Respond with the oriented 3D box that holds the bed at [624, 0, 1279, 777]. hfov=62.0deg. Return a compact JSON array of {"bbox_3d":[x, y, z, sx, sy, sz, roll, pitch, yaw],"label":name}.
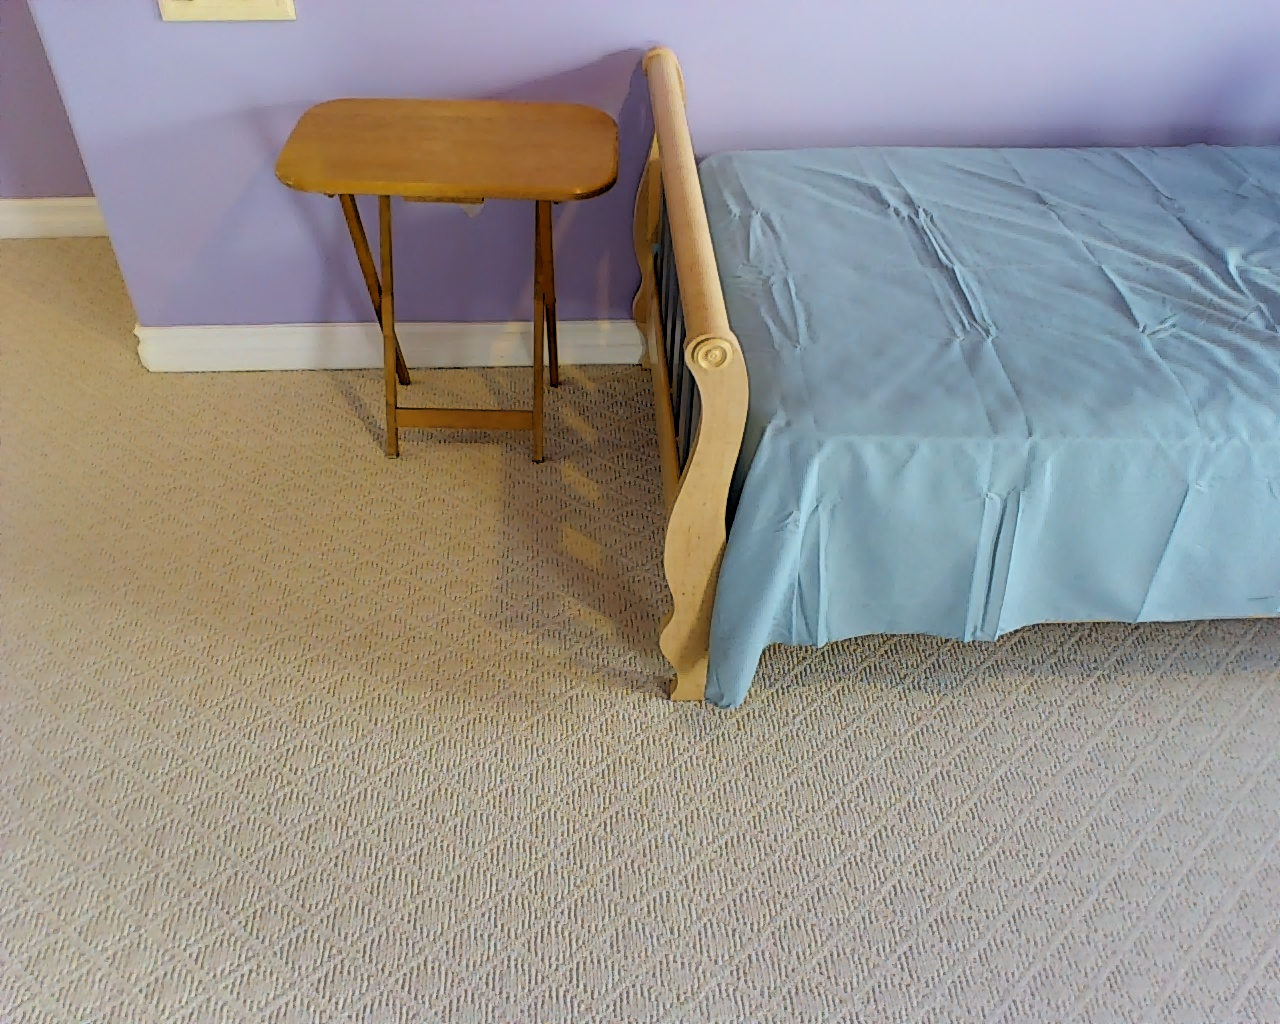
[{"bbox_3d":[1.050,-0.360,1.900,2.080,0.970,1.140,-3,41,-3],"label":"bed"}]
